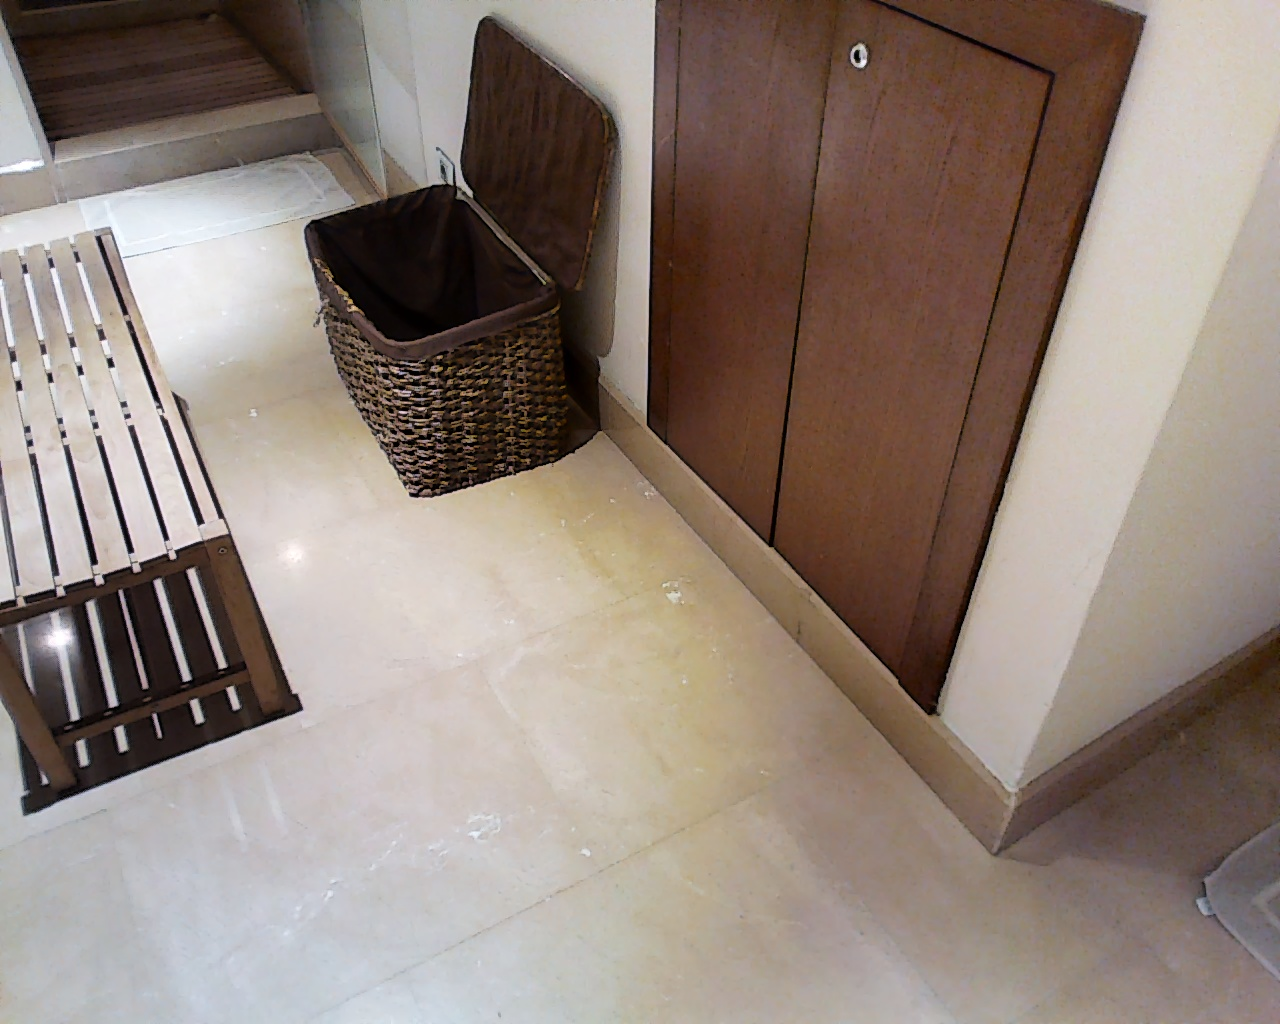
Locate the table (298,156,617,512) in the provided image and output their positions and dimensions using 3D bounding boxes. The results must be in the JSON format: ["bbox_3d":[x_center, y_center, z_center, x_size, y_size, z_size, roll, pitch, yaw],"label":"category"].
[{"bbox_3d":[-0.440,-0.460,2.620,0.490,0.480,0.700,-20,46,-23],"label":"table"}]
